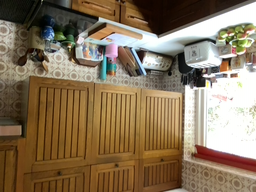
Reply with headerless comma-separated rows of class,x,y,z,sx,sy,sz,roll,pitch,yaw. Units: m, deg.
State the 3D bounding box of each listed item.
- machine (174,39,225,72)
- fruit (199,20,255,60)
machine,0.690,-0.380,2.070,0.300,0.210,0.350,4,177,-29
fruit,0.910,-0.430,1.730,0.440,0.130,0.440,4,177,-26
